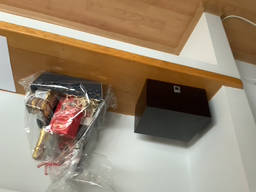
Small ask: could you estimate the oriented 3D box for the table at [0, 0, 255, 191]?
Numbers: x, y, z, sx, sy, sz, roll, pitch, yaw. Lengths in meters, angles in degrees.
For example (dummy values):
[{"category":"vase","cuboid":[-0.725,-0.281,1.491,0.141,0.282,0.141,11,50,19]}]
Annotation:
[{"category":"table","cuboid":[-0.320,-0.110,0.820,2.090,1.130,0.350,12,141,-9]}]
